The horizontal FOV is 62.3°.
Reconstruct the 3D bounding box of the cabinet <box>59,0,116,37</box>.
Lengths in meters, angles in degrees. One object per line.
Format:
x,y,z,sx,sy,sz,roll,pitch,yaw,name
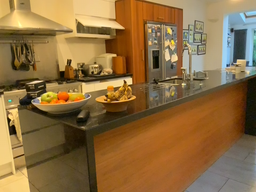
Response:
-0.620,-1.270,3.390,0.310,0.600,0.840,9,16,44,cabinet

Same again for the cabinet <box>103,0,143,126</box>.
-0.080,-0.590,3.830,0.620,2.160,0.310,9,16,44,cabinet
